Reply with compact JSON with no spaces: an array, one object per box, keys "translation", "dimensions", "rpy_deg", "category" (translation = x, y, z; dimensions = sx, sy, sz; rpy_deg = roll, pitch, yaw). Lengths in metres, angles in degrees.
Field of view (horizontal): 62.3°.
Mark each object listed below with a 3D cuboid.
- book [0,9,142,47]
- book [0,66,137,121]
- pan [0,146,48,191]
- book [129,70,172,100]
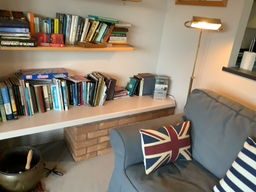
[{"translation":[-0.490,-0.590,1.910],"dimensions":[1.330,0.250,0.190],"rpy_deg":[-7,25,-30],"category":"book"},{"translation":[-0.560,-0.070,2.030],"dimensions":[1.330,0.310,0.300],"rpy_deg":[-8,25,-31],"category":"book"},{"translation":[-0.830,0.620,1.680],"dimensions":[0.320,0.230,0.350],"rpy_deg":[-5,24,-27],"category":"pan"},{"translation":[0.260,-0.140,2.510],"dimensions":[0.360,0.230,0.330],"rpy_deg":[-6,25,-29],"category":"book"}]
